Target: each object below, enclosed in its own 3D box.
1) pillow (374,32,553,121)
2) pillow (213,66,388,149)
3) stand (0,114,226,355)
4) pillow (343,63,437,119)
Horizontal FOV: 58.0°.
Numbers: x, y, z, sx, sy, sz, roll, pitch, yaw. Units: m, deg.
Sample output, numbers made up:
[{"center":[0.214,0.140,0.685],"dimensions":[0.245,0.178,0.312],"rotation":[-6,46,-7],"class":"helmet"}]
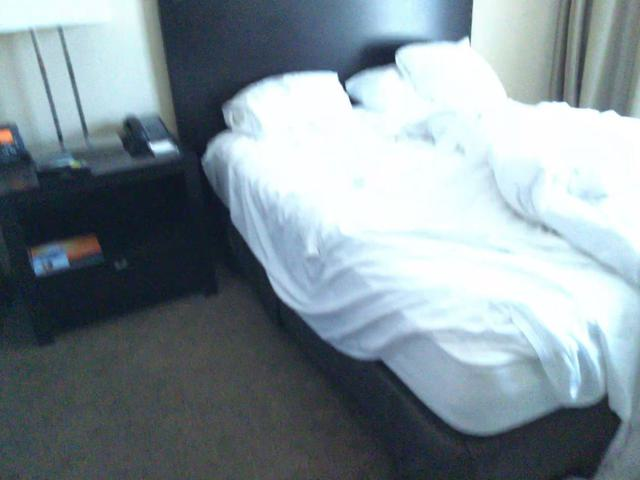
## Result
[{"center":[0.710,-0.860,2.960],"dimensions":[0.680,0.330,0.540],"rotation":[-12,25,-22],"class":"pillow"},{"center":[-0.090,-0.630,2.680],"dimensions":[0.700,0.250,0.380],"rotation":[-12,25,-22],"class":"pillow"},{"center":[-0.900,-0.070,2.480],"dimensions":[0.800,0.760,0.540],"rotation":[-12,25,-22],"class":"stand"},{"center":[0.330,-0.740,2.830],"dimensions":[0.280,0.190,0.410],"rotation":[-12,25,-22],"class":"pillow"}]
